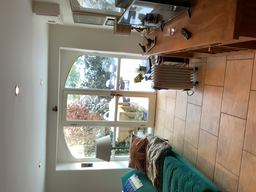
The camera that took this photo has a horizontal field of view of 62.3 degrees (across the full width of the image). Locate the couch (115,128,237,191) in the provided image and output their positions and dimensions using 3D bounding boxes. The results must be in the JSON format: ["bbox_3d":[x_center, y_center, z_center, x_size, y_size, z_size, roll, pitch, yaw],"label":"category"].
[{"bbox_3d":[0.430,1.280,3.090,1.990,0.880,1.060,-146,59,-75],"label":"couch"}]
